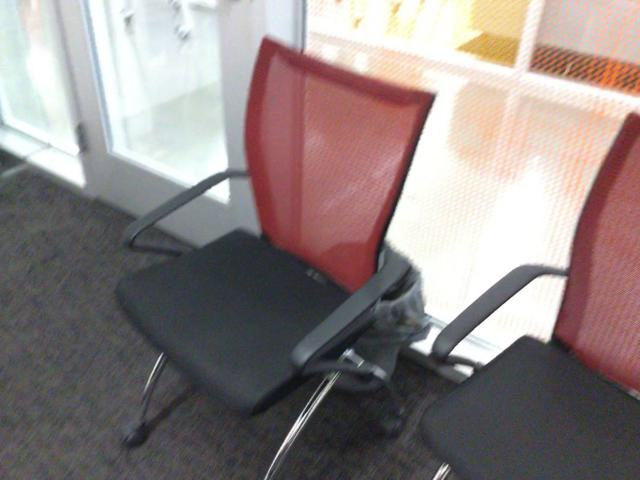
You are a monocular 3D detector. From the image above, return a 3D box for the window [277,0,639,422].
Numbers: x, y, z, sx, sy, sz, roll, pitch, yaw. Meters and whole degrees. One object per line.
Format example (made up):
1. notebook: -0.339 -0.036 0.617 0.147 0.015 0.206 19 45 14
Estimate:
1. window: 0.720 -0.140 1.270 1.840 1.170 0.180 23 38 24
